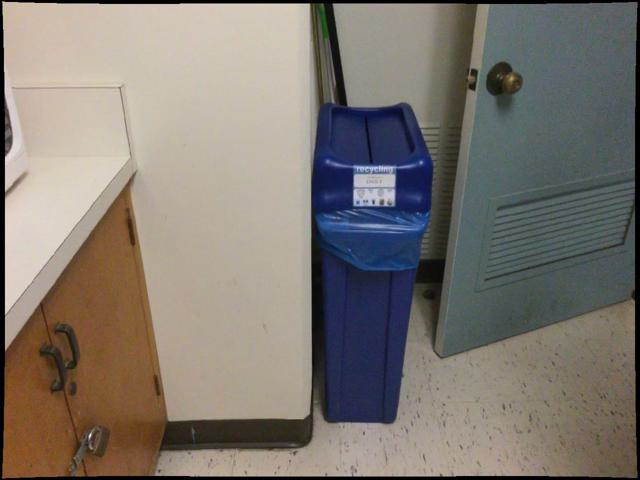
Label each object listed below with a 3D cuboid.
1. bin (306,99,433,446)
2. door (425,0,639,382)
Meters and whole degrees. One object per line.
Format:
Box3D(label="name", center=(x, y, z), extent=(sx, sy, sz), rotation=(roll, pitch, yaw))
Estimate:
Box3D(label="bin", center=(0.120, 0.090, 1.770), extent=(0.289, 0.892, 0.560), rotation=(-2, 29, 0))
Box3D(label="door", center=(0.848, -0.752, 1.610), extent=(1.028, 2.475, 0.160), rotation=(-14, 31, -21))
